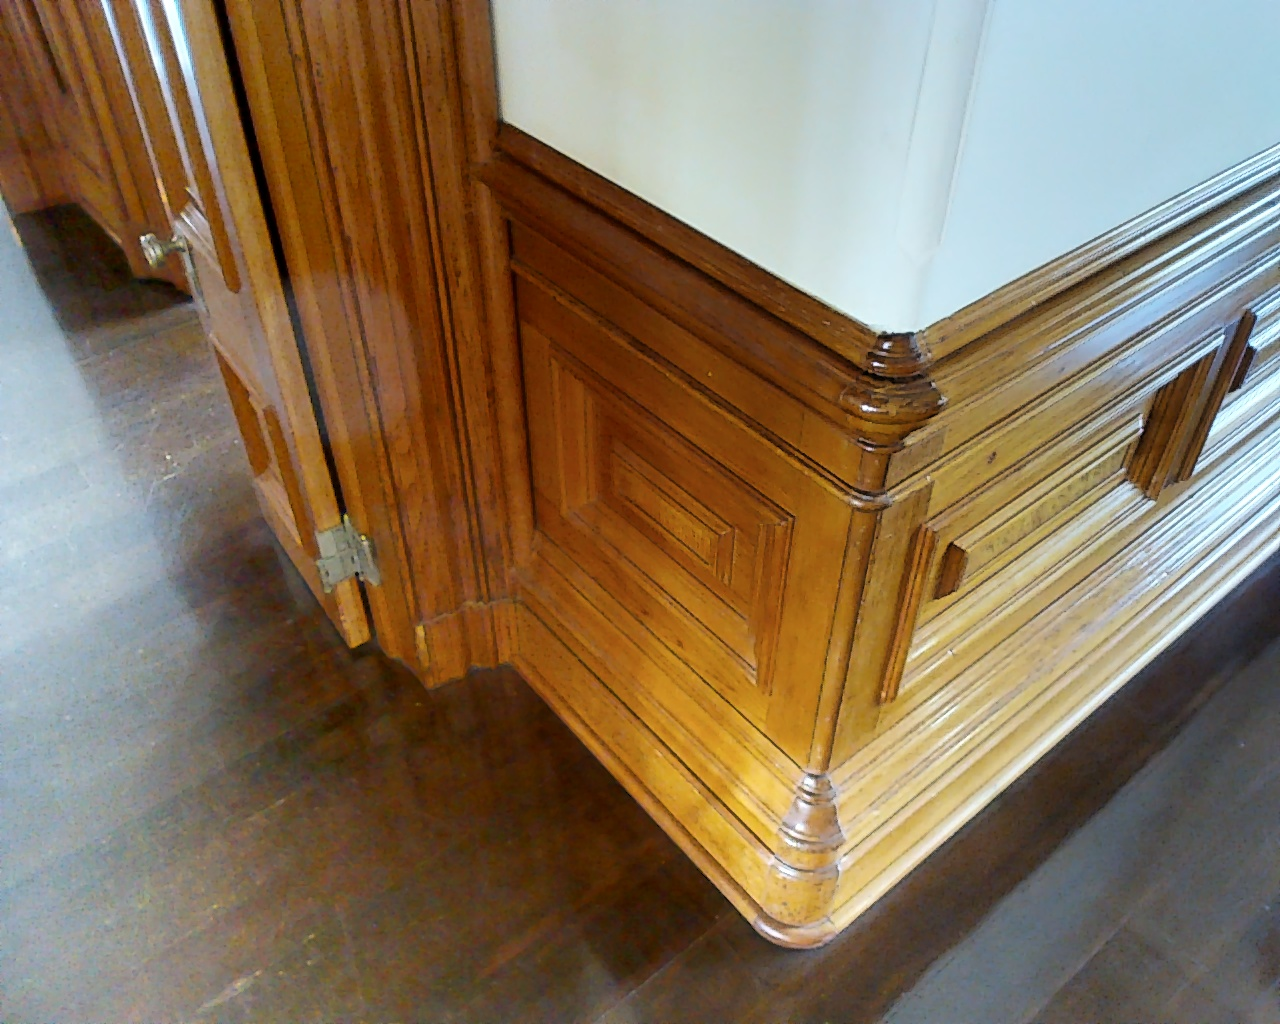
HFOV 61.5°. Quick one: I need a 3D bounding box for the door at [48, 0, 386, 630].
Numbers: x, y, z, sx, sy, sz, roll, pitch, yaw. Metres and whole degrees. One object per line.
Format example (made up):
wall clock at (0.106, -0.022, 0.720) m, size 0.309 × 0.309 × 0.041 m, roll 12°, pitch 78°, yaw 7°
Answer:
door at (-0.720, -0.770, 1.480) m, size 0.130 × 2.270 × 0.520 m, roll -27°, pitch 49°, yaw -26°
